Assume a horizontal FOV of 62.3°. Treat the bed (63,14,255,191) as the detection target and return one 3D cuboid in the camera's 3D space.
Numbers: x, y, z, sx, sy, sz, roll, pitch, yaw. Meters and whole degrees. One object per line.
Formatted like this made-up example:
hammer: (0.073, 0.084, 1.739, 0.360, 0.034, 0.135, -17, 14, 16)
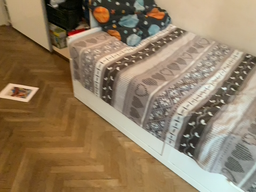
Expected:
bed: (0.580, 0.100, 1.570, 2.080, 0.570, 0.970, 34, 47, 28)
